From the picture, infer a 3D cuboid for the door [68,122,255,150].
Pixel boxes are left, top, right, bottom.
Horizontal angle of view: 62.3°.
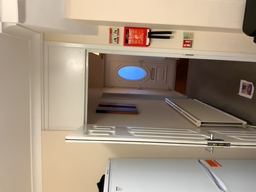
[{"bbox_3d":[0.600,0.320,1.760,0.760,2.000,0.080,153,119,-86],"label":"door"}]
